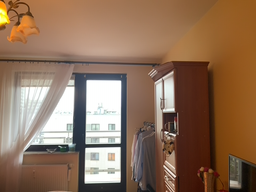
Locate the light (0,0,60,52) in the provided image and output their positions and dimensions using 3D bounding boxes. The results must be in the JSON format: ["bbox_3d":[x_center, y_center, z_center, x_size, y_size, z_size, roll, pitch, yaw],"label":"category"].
[{"bbox_3d":[-0.980,-0.670,1.530,0.830,0.530,0.450,1,-10,-5],"label":"light"}]

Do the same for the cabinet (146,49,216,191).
[{"bbox_3d":[0.500,0.380,2.290,0.490,1.540,0.850,1,-4,-4],"label":"cabinet"}]
